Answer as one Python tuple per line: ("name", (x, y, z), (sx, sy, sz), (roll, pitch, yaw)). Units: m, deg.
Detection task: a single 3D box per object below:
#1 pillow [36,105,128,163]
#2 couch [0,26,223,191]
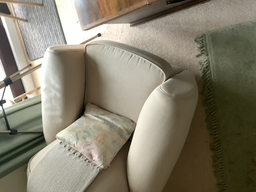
("pillow", (-0.230, 0.190, 1.180), (0.400, 0.310, 0.120), (16, 100, 5))
("couch", (-0.100, 0.100, 1.250), (0.910, 0.750, 0.790), (22, 118, 24))
